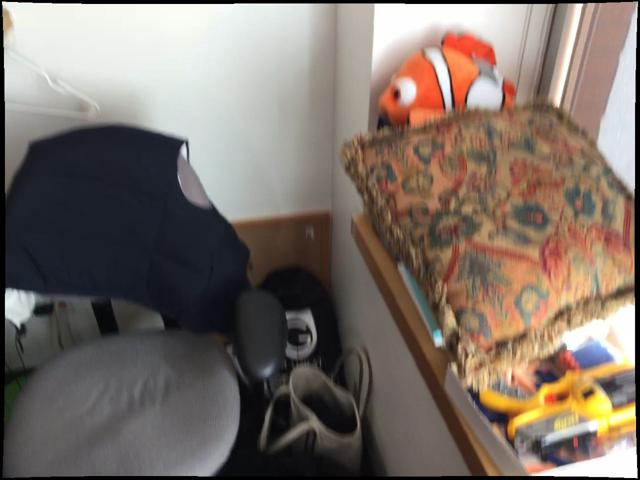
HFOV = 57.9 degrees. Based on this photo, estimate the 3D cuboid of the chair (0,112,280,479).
[{"bbox_3d":[-0.430,0.310,1.340,0.589,1.001,0.630,-5,33,-10],"label":"chair"}]
